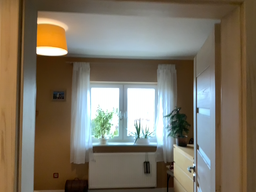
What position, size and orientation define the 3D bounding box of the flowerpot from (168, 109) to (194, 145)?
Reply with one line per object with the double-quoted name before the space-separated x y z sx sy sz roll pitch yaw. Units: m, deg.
"flowerpot" 0.790 0.460 3.200 0.310 0.500 0.280 1 -2 -5
